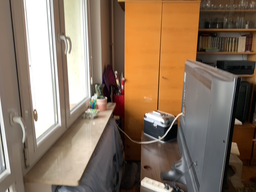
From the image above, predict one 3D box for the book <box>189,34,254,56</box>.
[{"bbox_3d":[1.240,-0.690,2.880,0.760,0.270,0.190,3,13,10],"label":"book"}]
